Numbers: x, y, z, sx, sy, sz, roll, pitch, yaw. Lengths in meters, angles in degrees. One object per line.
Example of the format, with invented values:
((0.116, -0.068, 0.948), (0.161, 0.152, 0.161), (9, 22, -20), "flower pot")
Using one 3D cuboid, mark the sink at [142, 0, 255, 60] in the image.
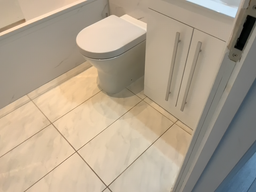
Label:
((0.450, -0.470, 1.040), (0.460, 0.140, 0.610), (-35, 56, -27), "sink")
